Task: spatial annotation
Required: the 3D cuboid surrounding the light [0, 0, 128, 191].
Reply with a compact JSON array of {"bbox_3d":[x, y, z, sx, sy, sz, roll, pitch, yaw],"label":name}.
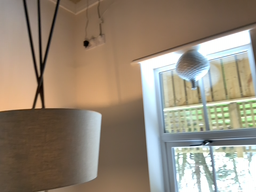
[{"bbox_3d":[-0.550,-0.370,1.210,0.820,1.650,0.590,-10,168,31],"label":"light"}]
